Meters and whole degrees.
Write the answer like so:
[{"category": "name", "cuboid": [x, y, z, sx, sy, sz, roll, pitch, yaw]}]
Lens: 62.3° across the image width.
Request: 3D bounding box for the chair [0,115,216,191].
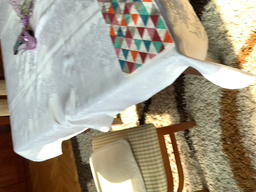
[{"category": "chair", "cuboid": [-0.010, 0.410, 1.010, 0.470, 0.910, 0.500, -20, 76, 37]}]
